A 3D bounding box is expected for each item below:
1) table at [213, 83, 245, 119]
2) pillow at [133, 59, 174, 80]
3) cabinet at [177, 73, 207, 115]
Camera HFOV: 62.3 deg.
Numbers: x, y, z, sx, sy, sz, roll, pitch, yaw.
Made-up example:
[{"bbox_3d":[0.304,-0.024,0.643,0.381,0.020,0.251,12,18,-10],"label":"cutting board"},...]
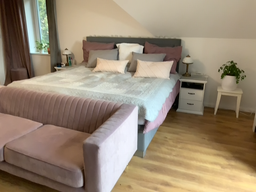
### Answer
[{"bbox_3d":[1.770,0.080,3.770,0.430,0.500,0.370,8,20,19],"label":"table"},{"bbox_3d":[0.430,-0.450,3.540,0.640,0.250,0.340,3,19,8],"label":"pillow"},{"bbox_3d":[1.180,-0.060,3.890,0.440,0.600,0.490,8,20,19],"label":"cabinet"}]
